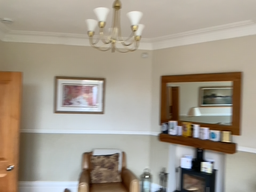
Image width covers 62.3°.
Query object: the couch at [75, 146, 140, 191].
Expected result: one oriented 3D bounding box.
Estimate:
[{"bbox_3d":[-0.370,1.300,3.300,0.830,0.780,1.090,2,0,-11],"label":"couch"}]
